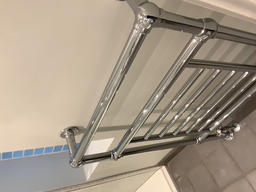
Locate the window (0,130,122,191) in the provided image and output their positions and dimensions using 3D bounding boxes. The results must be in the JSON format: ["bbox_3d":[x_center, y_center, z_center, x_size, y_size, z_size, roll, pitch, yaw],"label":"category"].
[{"bbox_3d":[-0.730,0.360,0.880,0.490,1.400,0.040,-59,44,40],"label":"window"}]
